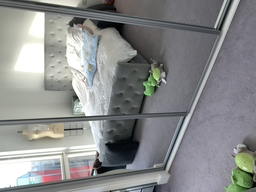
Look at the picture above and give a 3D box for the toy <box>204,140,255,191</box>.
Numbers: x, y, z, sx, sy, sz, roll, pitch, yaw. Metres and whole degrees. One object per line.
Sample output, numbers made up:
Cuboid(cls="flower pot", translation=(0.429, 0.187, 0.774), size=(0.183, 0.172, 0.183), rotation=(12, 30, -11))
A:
Cuboid(cls="toy", translation=(0.700, 0.550, 1.400), size=(0.250, 0.110, 0.440), rotation=(-124, 40, -52))
